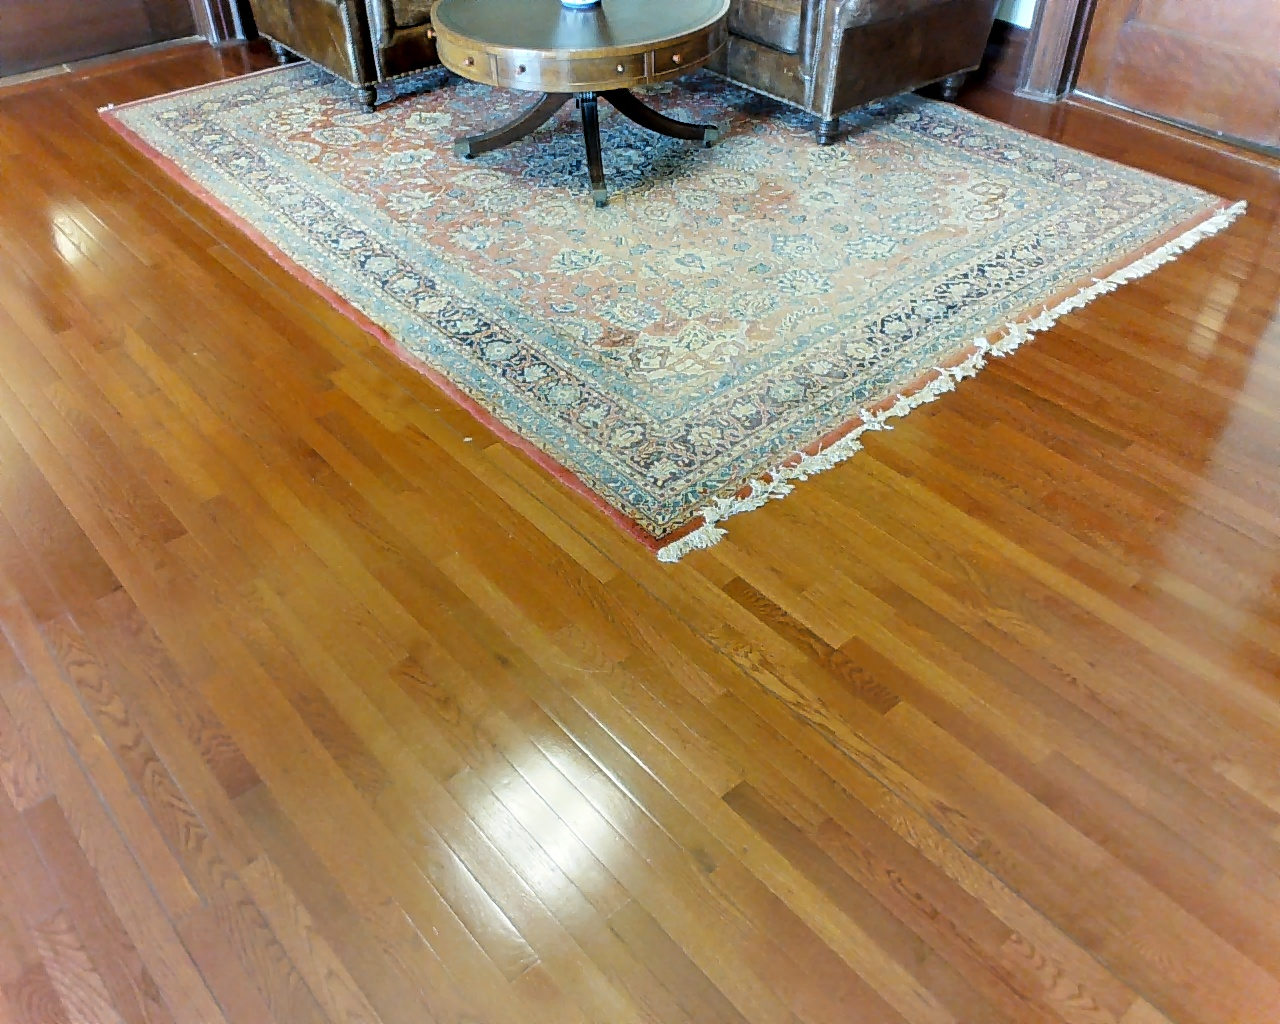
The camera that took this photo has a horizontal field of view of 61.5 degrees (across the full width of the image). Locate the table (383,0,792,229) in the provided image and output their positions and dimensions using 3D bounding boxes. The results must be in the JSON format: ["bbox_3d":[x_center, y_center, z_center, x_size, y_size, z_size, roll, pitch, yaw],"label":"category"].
[{"bbox_3d":[-0.180,-1.510,3.650,0.950,0.510,0.950,-30,50,-29],"label":"table"}]

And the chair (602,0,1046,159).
[{"bbox_3d":[0.690,-2.130,4.060,1.110,0.900,1.300,-30,50,-29],"label":"chair"}]
